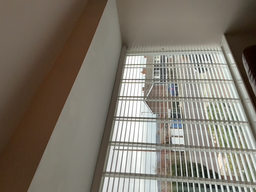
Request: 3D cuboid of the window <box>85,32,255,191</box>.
[{"bbox_3d":[0.500,0.080,2.410,0.290,1.450,2.510,82,-168,-46],"label":"window"}]
